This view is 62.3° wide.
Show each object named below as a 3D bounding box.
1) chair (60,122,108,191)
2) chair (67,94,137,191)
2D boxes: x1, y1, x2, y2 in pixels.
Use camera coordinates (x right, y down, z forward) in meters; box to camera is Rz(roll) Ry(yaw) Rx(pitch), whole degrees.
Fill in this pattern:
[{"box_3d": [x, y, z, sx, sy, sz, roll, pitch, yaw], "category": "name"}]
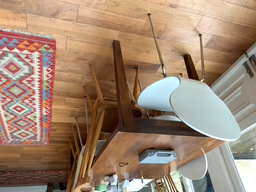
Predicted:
[{"box_3d": [-0.530, 0.820, 2.480, 0.470, 0.920, 0.410, 4, 145, -18], "category": "chair"}, {"box_3d": [-0.290, 0.480, 2.080, 0.520, 0.870, 0.410, 7, 144, -22], "category": "chair"}]
